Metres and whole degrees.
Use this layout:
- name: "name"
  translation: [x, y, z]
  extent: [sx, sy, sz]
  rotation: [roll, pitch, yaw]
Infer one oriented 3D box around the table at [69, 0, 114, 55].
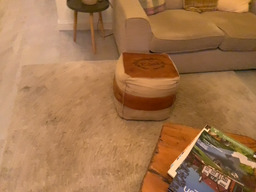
- name: "table"
  translation: [-0.380, -0.740, 2.200]
  extent: [0.400, 0.460, 0.400]
  rotation: [-4, 45, -11]
